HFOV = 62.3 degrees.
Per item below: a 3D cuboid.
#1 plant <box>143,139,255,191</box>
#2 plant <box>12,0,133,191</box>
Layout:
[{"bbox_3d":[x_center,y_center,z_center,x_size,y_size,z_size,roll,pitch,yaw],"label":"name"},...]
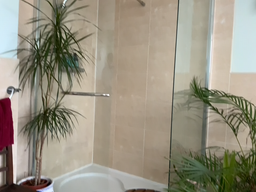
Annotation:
[{"bbox_3d":[0.440,0.720,1.090,0.480,0.810,0.690,4,2,33],"label":"plant"},{"bbox_3d":[-0.480,0.060,1.870,0.690,1.640,0.700,4,3,36],"label":"plant"}]
